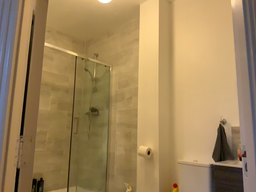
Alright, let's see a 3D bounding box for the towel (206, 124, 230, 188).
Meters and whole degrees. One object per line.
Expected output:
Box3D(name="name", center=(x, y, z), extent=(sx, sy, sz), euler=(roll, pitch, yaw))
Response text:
Box3D(name="towel", center=(0.810, 0.520, 1.910), extent=(0.130, 0.530, 0.160), euler=(-8, -13, 43))
